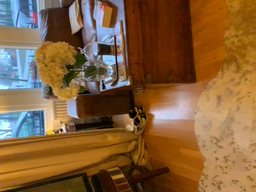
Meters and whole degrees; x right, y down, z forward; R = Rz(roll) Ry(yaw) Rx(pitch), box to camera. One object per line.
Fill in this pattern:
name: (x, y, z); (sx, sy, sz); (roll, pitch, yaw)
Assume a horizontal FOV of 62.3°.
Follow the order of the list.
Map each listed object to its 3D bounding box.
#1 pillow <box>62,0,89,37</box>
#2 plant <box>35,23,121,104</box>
pillow: (-0.600, -0.890, 2.410); (0.110, 0.340, 0.360); (-23, 106, -23)
plant: (-0.320, -0.170, 1.310); (0.430, 0.330, 0.400); (-3, 88, -27)
